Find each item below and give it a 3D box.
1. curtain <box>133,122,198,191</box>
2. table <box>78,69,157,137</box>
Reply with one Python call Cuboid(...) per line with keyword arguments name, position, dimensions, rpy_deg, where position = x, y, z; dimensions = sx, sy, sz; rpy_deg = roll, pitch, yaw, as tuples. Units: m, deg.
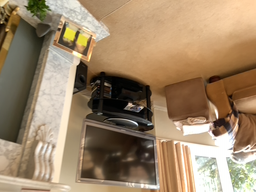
Cuboid(name="curtain", position=(0.480, 1.360, 2.390), dimensions=(0.540, 1.940, 0.650), rpy_deg=(-17, 147, 26))
Cuboid(name="table", position=(-0.120, 0.120, 2.530), dimensions=(0.760, 0.500, 0.470), rpy_deg=(16, 146, -26))
